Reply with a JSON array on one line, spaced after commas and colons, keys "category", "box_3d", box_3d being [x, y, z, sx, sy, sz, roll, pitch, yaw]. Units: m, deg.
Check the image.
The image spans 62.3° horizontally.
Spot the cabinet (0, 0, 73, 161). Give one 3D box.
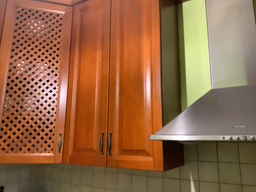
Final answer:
[{"category": "cabinet", "box_3d": [-0.610, -0.120, 1.440, 0.380, 1.040, 0.440, 4, -13, -16]}]
